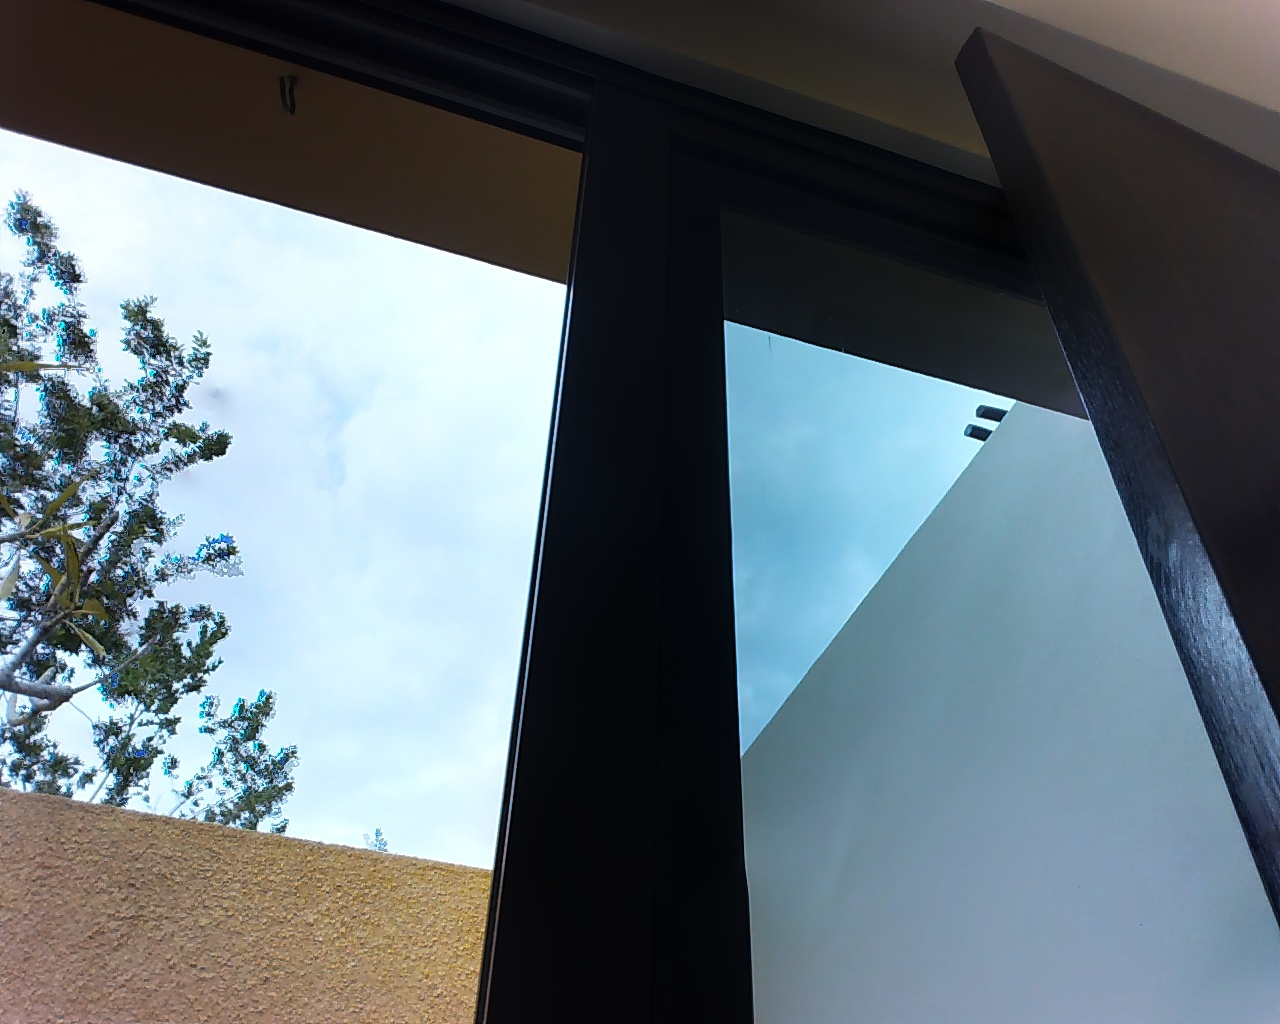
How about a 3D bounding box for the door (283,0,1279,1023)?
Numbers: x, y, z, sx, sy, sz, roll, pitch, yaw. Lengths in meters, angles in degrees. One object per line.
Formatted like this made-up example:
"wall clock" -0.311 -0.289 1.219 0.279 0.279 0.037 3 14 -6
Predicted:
"door" 0.290 0.530 0.500 1.000 2.710 0.280 13 -44 -12
